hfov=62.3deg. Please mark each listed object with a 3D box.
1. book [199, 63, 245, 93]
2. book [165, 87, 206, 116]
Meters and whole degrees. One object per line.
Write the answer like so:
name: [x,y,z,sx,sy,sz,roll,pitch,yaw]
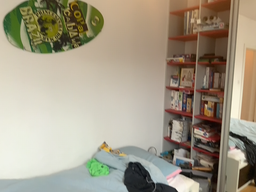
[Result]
book: [1.210,-0.240,2.740,0.330,0.350,0.410,-4,9,-39]
book: [0.820,0.060,3.060,0.220,0.340,0.500,-5,10,-44]
